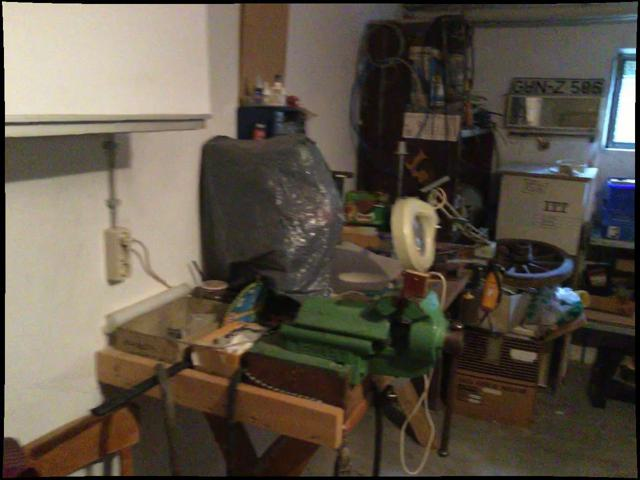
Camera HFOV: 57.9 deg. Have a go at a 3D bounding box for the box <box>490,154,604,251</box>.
[{"bbox_3d":[1.289,-0.230,3.280,0.520,0.440,0.400,8,17,25],"label":"box"}]

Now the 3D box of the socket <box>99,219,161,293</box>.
[{"bbox_3d":[-0.509,0.040,1.560,0.070,0.160,0.140,8,17,25],"label":"socket"}]
